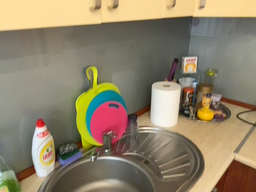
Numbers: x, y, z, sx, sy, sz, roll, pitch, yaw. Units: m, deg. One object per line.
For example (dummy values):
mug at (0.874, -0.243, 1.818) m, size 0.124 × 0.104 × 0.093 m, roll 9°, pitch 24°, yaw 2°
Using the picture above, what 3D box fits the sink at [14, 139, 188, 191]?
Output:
sink at (-0.100, 0.430, 0.830) m, size 0.460 × 0.170 × 0.480 m, roll 20°, pitch 30°, yaw 38°
